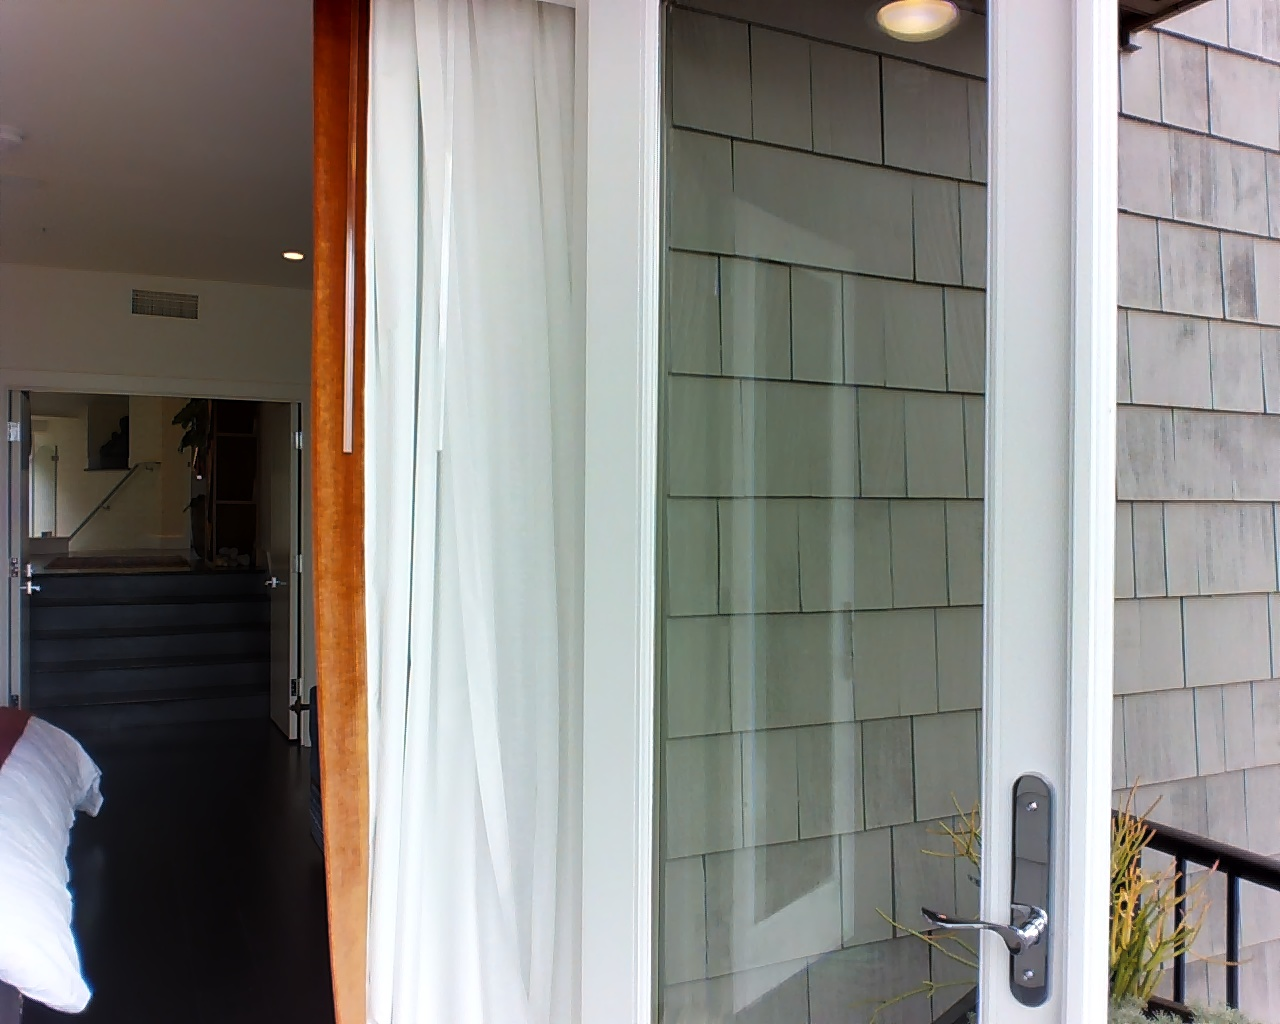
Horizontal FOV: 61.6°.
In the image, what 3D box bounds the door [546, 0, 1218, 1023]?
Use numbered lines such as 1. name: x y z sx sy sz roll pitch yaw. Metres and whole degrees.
1. door: 0.250 0.240 1.400 0.840 2.430 0.230 1 1 42
